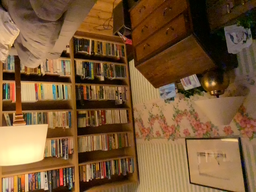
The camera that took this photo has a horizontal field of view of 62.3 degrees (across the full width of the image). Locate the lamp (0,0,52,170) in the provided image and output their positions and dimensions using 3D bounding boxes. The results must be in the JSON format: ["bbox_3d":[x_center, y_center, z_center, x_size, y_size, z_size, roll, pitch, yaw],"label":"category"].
[{"bbox_3d":[-0.980,-0.190,1.860,0.470,1.530,0.430,1,170,-31],"label":"lamp"}]

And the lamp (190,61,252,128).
[{"bbox_3d":[0.680,0.000,1.570,0.280,0.440,0.240,0,170,-29],"label":"lamp"}]
